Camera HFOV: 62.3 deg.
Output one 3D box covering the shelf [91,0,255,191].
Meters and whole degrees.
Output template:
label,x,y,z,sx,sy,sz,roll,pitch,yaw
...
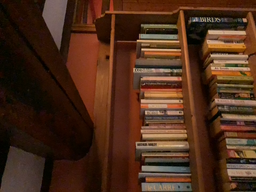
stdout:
label,x,y,z,sx,sy,sz,roll,pitch,yaw
shelf,0.820,-0.010,1.000,0.360,1.860,0.960,92,179,-67
